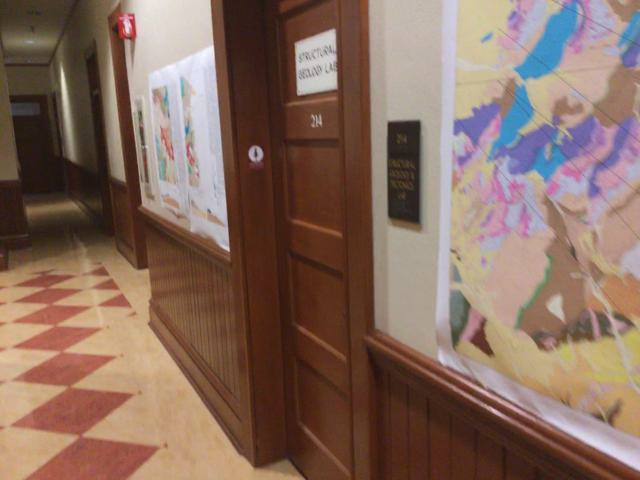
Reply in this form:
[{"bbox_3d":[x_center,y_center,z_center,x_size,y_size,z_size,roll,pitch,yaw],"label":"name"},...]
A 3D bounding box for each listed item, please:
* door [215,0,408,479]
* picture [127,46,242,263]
[{"bbox_3d":[-0.050,0.110,2.050,0.210,2.050,0.910,-9,15,-26],"label":"door"},{"bbox_3d":[-0.810,-0.500,3.180,0.080,0.890,1.790,-9,15,-26],"label":"picture"}]
